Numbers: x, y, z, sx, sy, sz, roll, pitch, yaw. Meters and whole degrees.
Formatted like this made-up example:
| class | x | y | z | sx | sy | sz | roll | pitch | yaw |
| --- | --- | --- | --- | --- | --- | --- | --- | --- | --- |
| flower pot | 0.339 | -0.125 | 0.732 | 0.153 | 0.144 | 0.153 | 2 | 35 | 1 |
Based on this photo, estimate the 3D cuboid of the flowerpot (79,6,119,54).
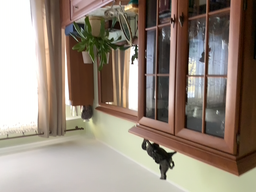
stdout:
| class | x | y | z | sx | sy | sz | roll | pitch | yaw |
| --- | --- | --- | --- | --- | --- | --- | --- | --- | --- |
| flowerpot | -0.300 | -0.650 | 2.170 | 0.250 | 0.390 | 0.350 | -5 | -171 | -38 |
